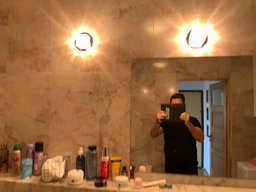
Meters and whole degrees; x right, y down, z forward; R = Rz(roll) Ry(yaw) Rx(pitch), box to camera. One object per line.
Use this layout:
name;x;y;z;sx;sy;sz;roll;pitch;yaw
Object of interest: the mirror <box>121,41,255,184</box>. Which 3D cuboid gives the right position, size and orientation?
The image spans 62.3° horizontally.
mirror;0.340;0.080;1.190;0.740;0.730;0.130;0;-3;7
